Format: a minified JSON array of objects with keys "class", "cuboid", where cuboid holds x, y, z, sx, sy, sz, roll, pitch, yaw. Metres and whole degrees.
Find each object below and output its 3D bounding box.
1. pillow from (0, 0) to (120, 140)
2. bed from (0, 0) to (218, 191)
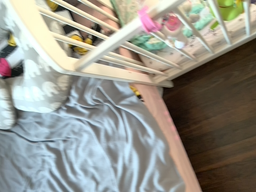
[{"class":"pillow","cuboid":[-0.660,-0.170,1.100,1.140,0.280,0.590,-28,76,27]},{"class":"bed","cuboid":[-0.270,0.630,1.300,1.430,0.520,2.200,-27,77,27]}]
